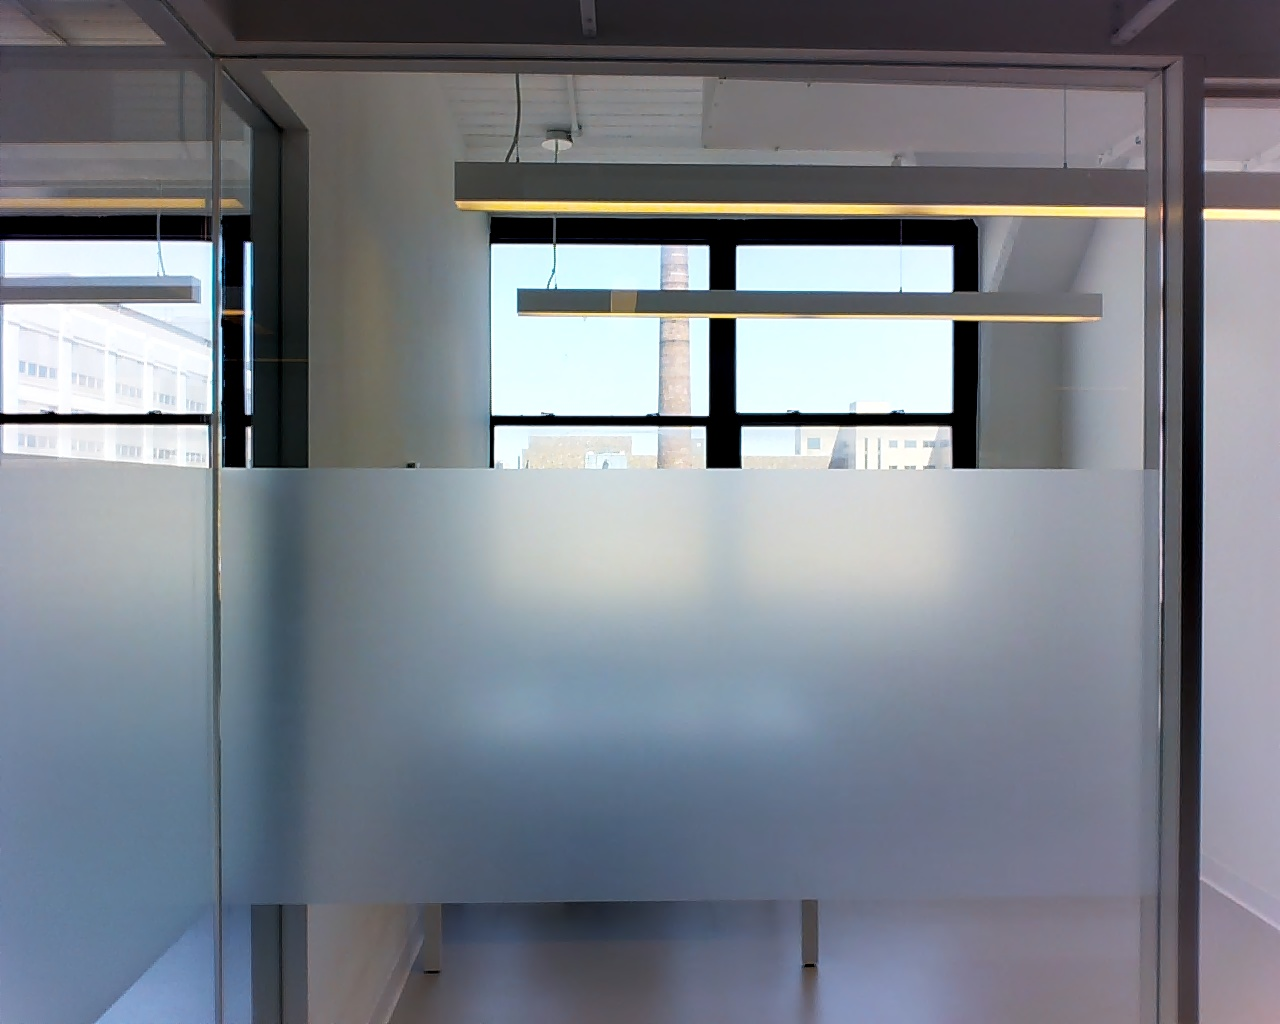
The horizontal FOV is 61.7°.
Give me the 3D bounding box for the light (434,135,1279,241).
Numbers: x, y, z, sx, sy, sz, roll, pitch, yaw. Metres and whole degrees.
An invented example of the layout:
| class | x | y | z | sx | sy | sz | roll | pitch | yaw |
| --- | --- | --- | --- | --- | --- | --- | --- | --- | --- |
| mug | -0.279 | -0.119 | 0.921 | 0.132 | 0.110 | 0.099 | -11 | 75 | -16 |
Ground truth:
| class | x | y | z | sx | sy | sz | roll | pitch | yaw |
| --- | --- | --- | --- | --- | --- | --- | --- | --- | --- |
| light | 0.720 | -0.860 | 2.870 | 2.499 | 0.200 | 0.190 | 0 | 0 | -2 |
